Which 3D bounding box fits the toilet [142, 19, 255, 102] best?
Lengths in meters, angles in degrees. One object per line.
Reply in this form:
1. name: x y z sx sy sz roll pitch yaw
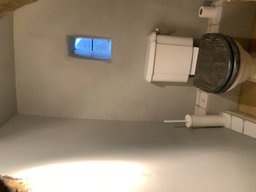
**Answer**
1. toilet: 0.570 -0.240 1.520 0.720 0.760 0.400 -127 42 -76
